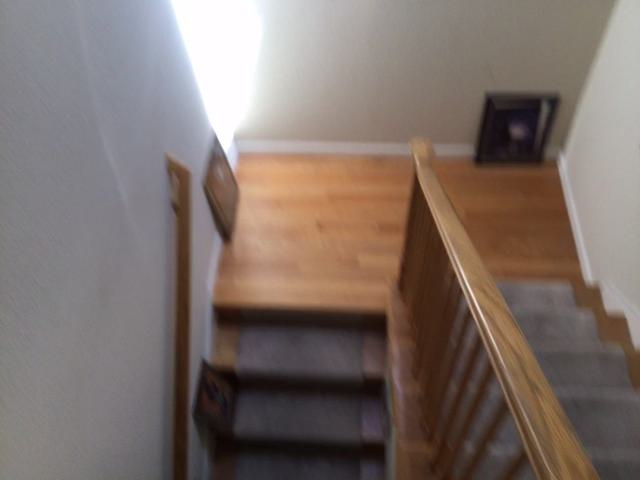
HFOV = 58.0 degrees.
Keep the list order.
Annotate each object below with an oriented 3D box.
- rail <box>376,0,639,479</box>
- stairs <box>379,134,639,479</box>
[{"bbox_3d":[0.320,0.170,1.640,0.240,1.950,1.630,1,58,4],"label":"rail"},{"bbox_3d":[0.760,0.510,1.910,1.080,1.070,1.300,1,58,4],"label":"stairs"}]
